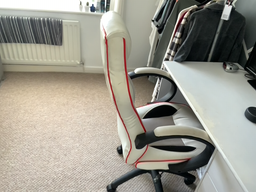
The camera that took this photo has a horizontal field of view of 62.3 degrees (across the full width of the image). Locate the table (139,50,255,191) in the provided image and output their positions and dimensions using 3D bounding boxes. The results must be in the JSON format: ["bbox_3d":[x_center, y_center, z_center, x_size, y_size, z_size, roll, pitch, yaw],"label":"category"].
[{"bbox_3d":[0.570,0.330,1.340,0.670,0.740,1.250,1,35,-11],"label":"table"}]

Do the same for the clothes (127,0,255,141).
[{"bbox_3d":[0.450,-0.430,2.080,0.600,1.230,1.170,1,35,-11],"label":"clothes"}]
